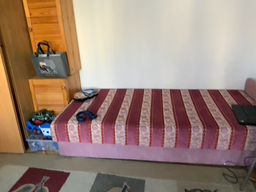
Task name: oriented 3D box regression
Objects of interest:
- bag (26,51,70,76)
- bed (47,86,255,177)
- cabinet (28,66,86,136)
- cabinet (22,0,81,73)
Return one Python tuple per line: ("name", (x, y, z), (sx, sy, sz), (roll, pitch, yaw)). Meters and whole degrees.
("bag", (-0.830, -0.340, 2.220), (0.370, 0.230, 0.140), (1, 21, 8))
("bed", (0.380, 0.270, 2.190), (2.040, 0.450, 0.920), (1, 21, 8))
("cabinet", (-0.800, 0.040, 2.510), (0.400, 0.700, 0.470), (1, 21, 7))
("cabinet", (-0.810, -0.860, 2.240), (0.410, 1.190, 0.320), (1, 21, 7))
